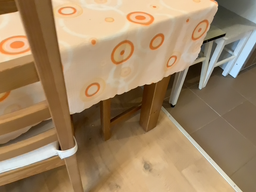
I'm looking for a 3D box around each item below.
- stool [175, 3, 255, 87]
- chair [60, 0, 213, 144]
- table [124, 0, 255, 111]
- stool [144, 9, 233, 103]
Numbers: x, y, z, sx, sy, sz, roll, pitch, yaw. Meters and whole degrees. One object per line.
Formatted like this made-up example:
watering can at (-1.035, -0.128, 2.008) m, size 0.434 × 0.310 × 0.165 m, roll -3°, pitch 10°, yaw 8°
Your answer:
stool at (0.630, -0.380, 1.570) m, size 0.310 × 0.430 × 0.350 m, roll -23°, pitch 54°, yaw -25°
chair at (0.020, -0.290, 1.000) m, size 0.520 × 1.020 × 0.360 m, roll -25°, pitch 55°, yaw -27°
table at (0.480, -0.510, 1.400) m, size 0.740 × 0.840 × 0.610 m, roll -23°, pitch 54°, yaw -25°
stool at (0.370, -0.270, 1.430) m, size 0.310 × 0.440 × 0.350 m, roll -23°, pitch 54°, yaw -25°
